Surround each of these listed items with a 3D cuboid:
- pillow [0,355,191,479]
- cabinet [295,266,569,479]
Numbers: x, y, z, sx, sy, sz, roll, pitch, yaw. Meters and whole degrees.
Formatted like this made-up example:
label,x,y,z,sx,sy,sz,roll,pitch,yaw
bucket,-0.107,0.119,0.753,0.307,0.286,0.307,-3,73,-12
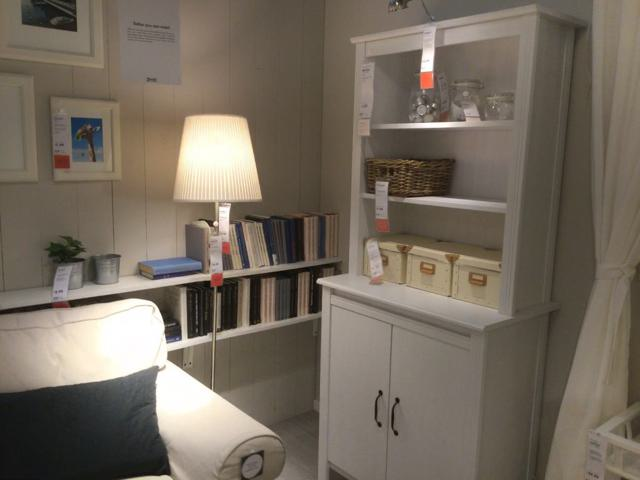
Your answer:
label,x,y,z,sx,sy,sz,roll,pitch,yaw
pillow,-0.780,0.580,1.720,0.690,0.280,0.340,-3,8,-38
cabinet,0.370,0.650,2.240,0.450,0.950,0.930,-3,8,-38
